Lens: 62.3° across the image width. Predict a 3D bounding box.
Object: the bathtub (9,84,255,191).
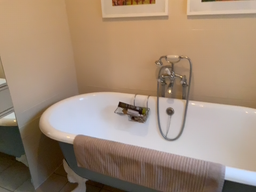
[{"bbox_3d":[0.220,0.440,1.510,1.710,0.670,0.850,6,24,21],"label":"bathtub"}]
